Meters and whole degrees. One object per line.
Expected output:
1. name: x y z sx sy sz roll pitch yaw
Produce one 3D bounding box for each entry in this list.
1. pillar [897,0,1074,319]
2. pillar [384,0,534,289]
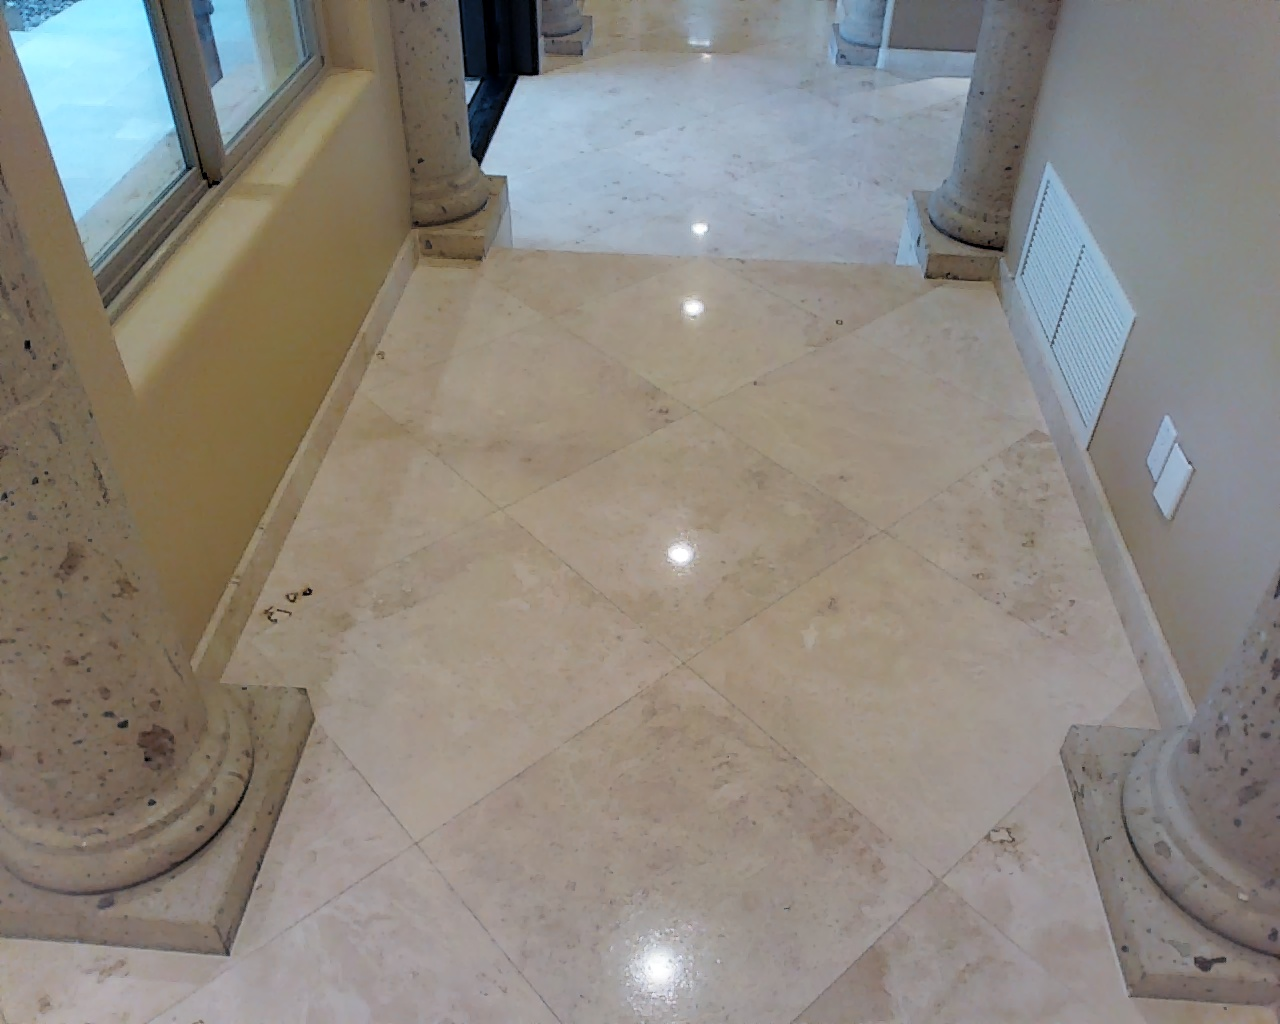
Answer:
1. pillar: 1.010 -1.619 2.800 0.240 2.249 0.470 3 40 2
2. pillar: -0.520 -1.739 2.880 0.290 2.249 0.510 3 40 2
